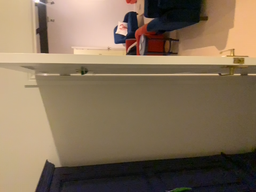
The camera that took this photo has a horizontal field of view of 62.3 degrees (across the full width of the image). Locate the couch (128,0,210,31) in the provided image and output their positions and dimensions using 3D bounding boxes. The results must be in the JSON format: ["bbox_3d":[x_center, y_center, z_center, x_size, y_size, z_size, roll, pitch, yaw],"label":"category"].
[{"bbox_3d":[0.530,-1.580,2.970,0.890,0.870,1.180,-135,45,-72],"label":"couch"}]
